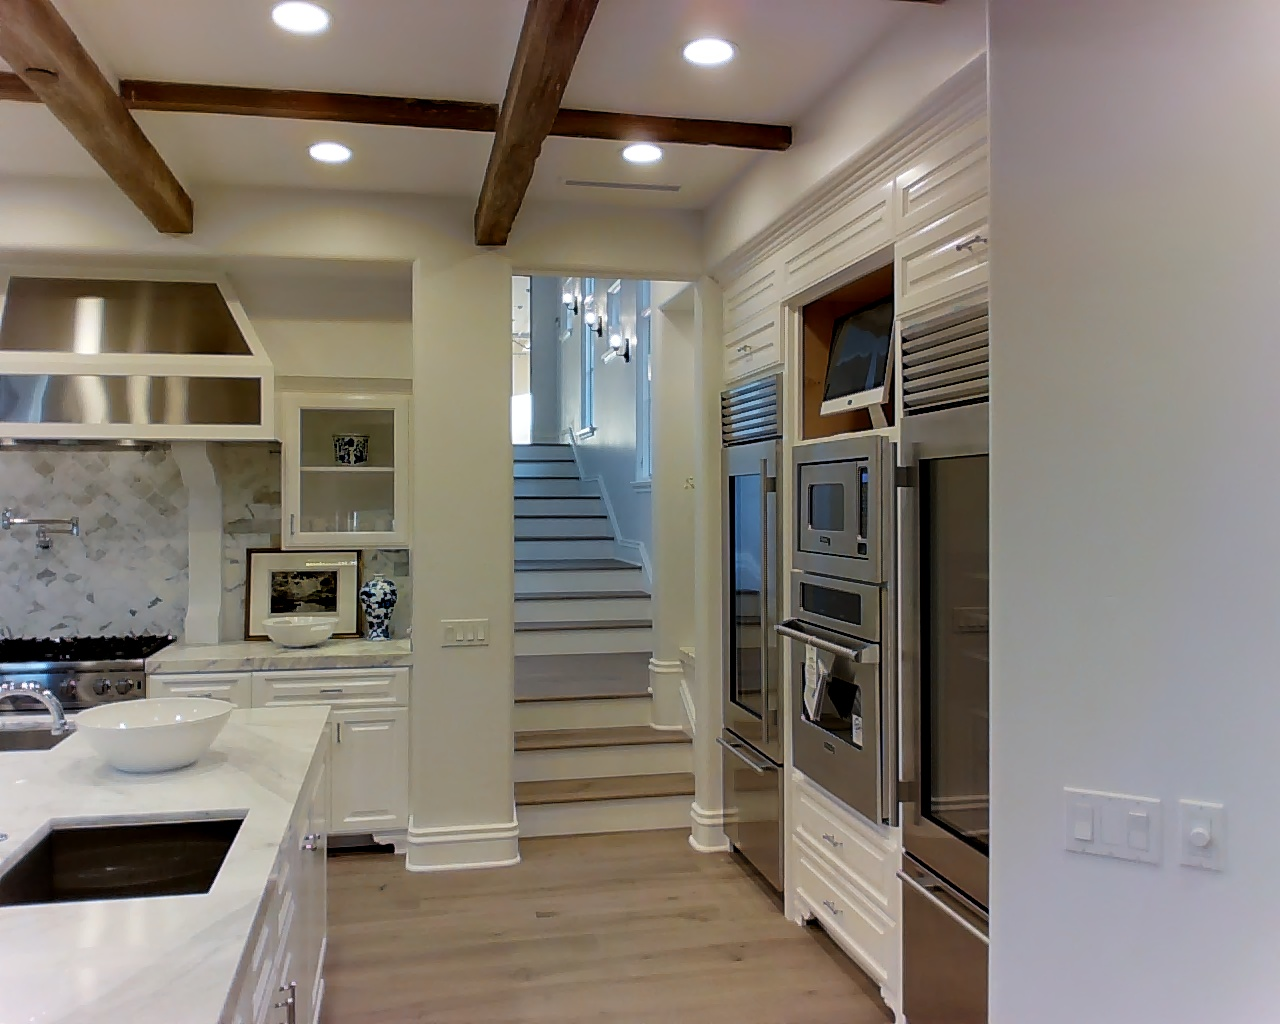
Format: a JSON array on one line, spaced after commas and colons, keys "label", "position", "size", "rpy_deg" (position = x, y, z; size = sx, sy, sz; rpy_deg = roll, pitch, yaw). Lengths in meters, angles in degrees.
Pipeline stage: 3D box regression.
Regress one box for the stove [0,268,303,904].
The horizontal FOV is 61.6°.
[{"label": "stove", "position": [-2.799, 0.310, 4.900], "size": [2.339, 2.671, 0.810], "rpy_deg": [0, 0, -12]}]
